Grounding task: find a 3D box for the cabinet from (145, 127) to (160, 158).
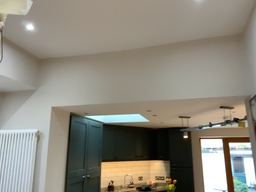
[{"bbox_3d":[0.640,1.230,5.610,0.350,0.790,0.270,-3,-14,13],"label":"cabinet"}]
